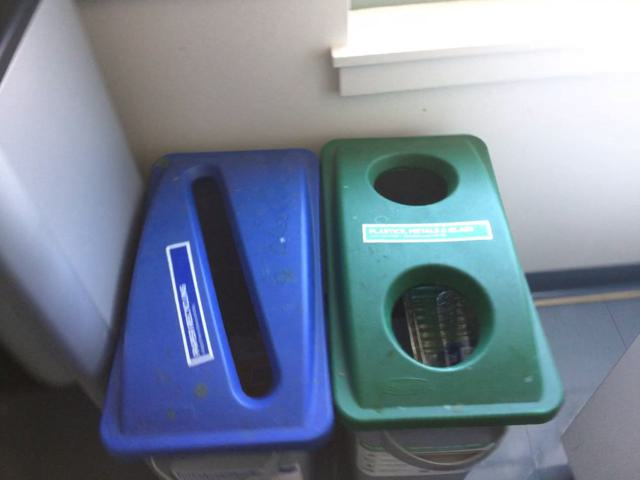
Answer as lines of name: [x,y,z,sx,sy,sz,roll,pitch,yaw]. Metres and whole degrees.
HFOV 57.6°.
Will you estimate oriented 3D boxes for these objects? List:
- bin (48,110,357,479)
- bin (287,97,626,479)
bin: [-0.140,0.230,1.070,0.330,0.680,0.580,-5,49,-2]
bin: [0.150,0.200,1.070,0.340,0.670,0.570,-5,49,-2]
